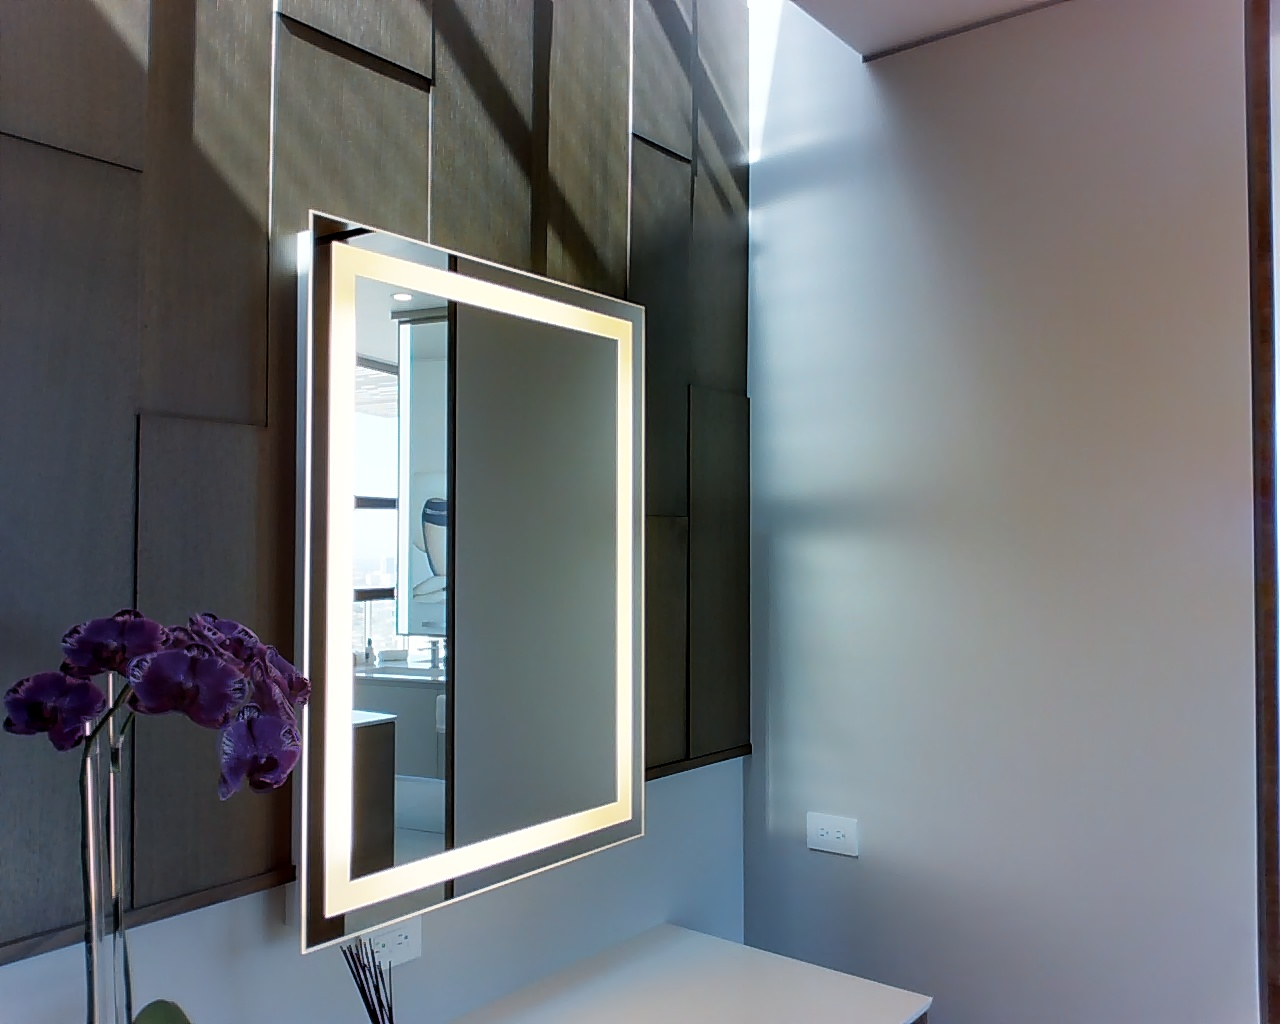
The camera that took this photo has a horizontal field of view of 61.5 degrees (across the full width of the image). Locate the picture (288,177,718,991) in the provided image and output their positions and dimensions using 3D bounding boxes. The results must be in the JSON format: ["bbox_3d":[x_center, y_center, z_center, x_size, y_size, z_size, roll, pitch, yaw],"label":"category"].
[{"bbox_3d":[-0.180,0.100,1.790,0.120,1.090,0.820,-3,-4,42],"label":"picture"}]

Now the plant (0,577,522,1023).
[{"bbox_3d":[-0.460,0.440,1.070,0.530,0.730,0.420,-1,-2,36],"label":"plant"}]
